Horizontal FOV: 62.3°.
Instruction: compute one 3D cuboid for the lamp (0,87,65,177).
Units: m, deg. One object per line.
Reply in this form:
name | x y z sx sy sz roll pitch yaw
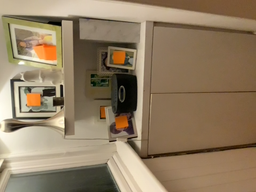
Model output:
lamp | -0.670 0.160 1.080 0.330 0.660 0.370 -151 61 -70
